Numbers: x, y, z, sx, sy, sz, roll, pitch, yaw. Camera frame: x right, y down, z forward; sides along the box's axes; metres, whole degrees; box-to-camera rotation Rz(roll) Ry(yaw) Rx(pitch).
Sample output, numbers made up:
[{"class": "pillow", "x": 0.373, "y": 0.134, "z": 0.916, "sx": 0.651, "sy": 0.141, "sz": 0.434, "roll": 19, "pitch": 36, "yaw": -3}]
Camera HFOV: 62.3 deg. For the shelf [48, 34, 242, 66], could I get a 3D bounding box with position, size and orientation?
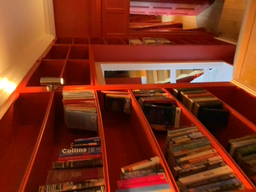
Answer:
[{"class": "shelf", "x": 0.350, "y": -0.910, "z": 4.170, "sx": 0.950, "sy": 3.490, "sz": 0.390, "roll": -117, "pitch": 28, "yaw": -65}]
